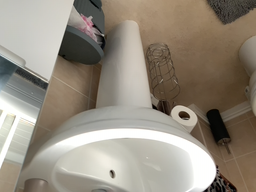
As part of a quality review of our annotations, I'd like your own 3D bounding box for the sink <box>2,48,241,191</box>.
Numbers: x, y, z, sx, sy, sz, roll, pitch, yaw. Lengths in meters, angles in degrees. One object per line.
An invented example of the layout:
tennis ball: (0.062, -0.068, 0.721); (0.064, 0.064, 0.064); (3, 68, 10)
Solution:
sink: (0.010, 0.190, 0.660); (0.420, 0.180, 0.540); (-32, 131, 28)
